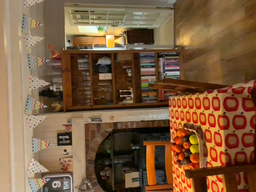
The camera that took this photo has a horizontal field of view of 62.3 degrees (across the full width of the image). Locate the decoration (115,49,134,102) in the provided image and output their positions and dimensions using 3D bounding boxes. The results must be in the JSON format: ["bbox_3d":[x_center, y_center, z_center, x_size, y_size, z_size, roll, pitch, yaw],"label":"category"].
[{"bbox_3d":[-0.060,-0.350,3.660,0.200,0.290,0.880,-169,78,-81],"label":"decoration"}]

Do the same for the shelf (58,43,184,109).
[{"bbox_3d":[-0.090,-0.330,3.620,0.290,2.050,1.040,172,97,-81],"label":"shelf"}]

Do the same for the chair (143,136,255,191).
[{"bbox_3d":[0.670,0.660,2.060,0.450,0.950,0.450,150,119,-80],"label":"chair"}]
